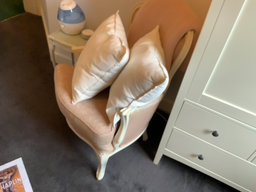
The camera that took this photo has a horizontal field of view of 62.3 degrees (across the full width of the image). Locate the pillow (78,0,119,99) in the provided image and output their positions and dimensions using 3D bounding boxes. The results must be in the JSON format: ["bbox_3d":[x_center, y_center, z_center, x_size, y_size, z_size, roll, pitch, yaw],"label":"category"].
[{"bbox_3d":[-0.190,-0.220,1.200,0.160,0.450,0.380,-1,76,-16],"label":"pillow"}]

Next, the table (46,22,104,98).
[{"bbox_3d":[-0.440,-0.310,1.830,0.330,0.490,0.290,25,45,16],"label":"table"}]
